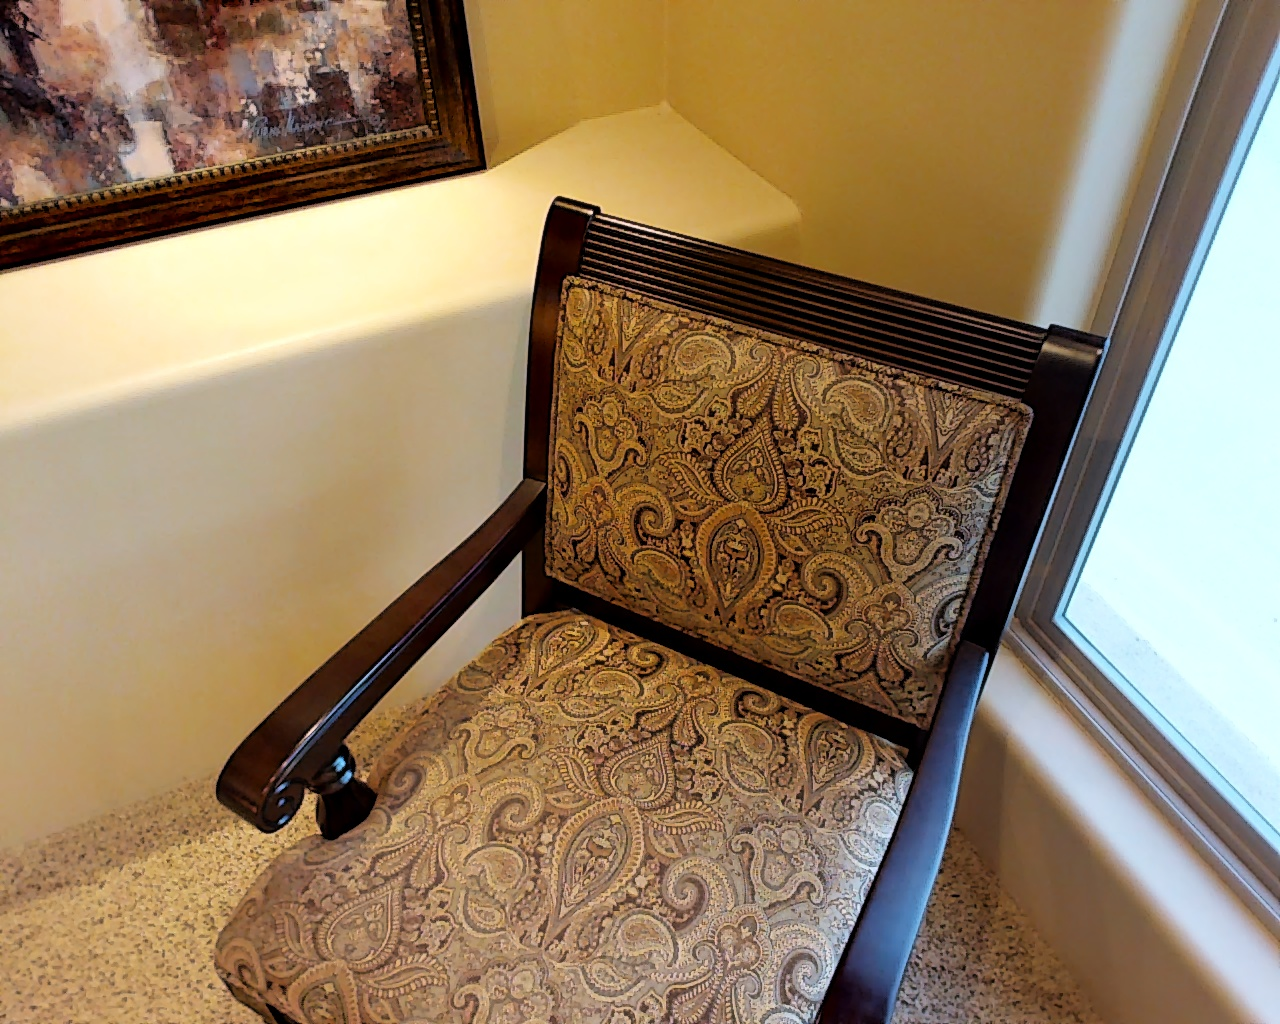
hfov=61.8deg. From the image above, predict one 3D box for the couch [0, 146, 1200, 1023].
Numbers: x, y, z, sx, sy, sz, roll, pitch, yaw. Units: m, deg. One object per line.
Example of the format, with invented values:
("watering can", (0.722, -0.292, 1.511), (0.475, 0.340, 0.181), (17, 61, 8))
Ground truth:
("couch", (-0.010, 0.300, 1.240), (0.790, 0.980, 0.850), (21, 48, 20))
